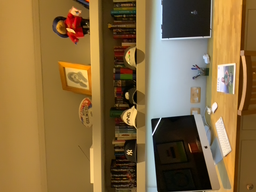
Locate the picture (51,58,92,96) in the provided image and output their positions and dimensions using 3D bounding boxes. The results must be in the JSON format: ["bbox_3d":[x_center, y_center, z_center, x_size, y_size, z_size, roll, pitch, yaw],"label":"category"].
[{"bbox_3d":[-0.500,-0.170,1.910,0.180,0.310,0.320,-90,0,-84],"label":"picture"}]

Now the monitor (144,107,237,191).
[{"bbox_3d":[0.460,0.460,1.740,0.060,0.510,0.780,82,177,-49],"label":"monitor"}]
